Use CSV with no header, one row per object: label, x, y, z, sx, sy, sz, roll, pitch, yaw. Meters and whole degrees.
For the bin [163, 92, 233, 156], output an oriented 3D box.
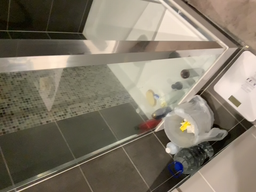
bin,0.440,0.170,1.360,0.270,0.230,0.240,53,132,24
